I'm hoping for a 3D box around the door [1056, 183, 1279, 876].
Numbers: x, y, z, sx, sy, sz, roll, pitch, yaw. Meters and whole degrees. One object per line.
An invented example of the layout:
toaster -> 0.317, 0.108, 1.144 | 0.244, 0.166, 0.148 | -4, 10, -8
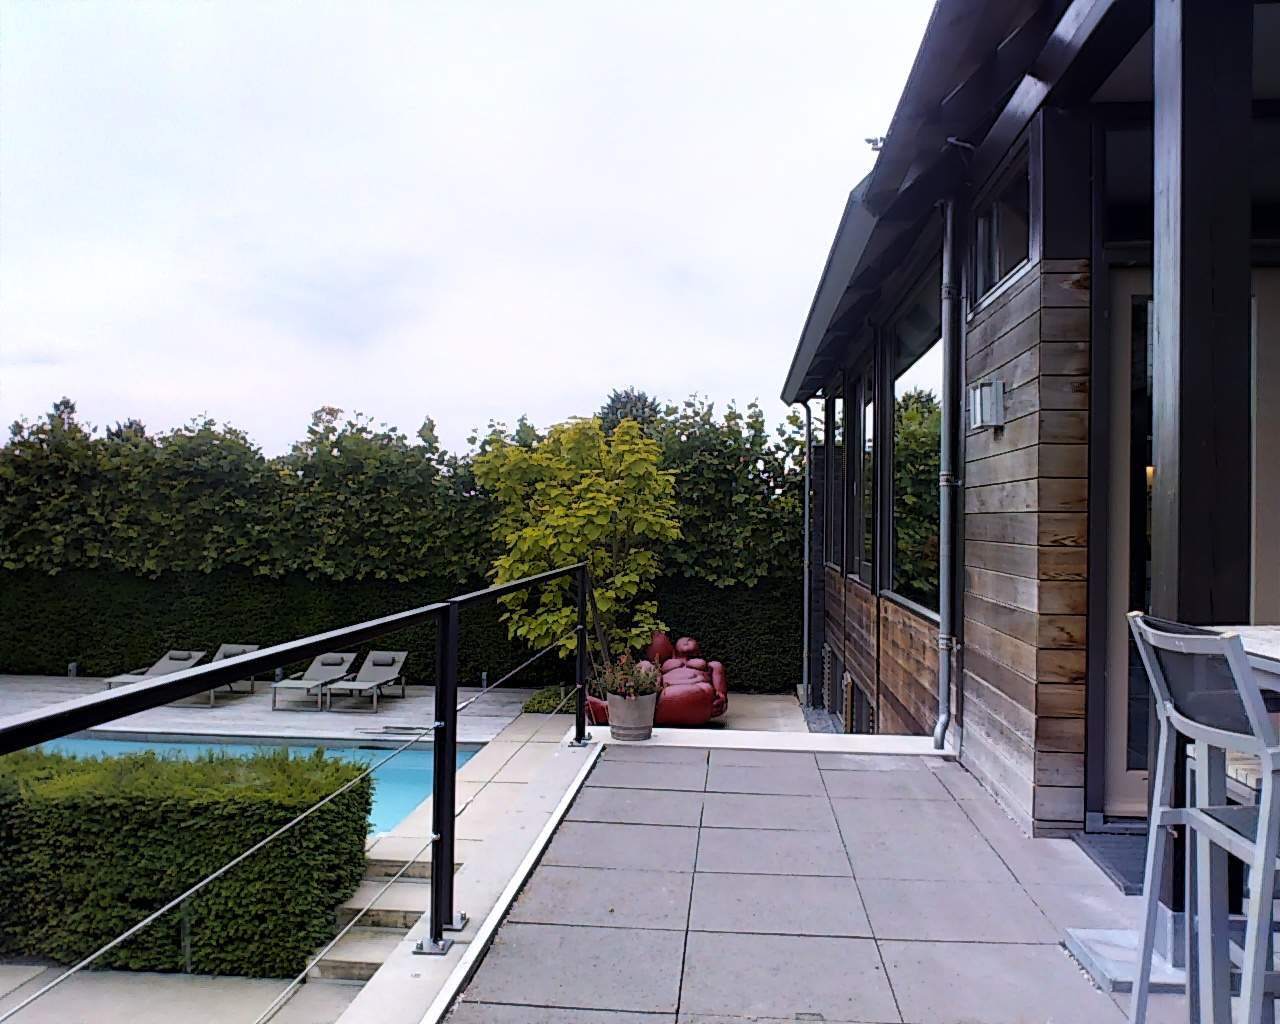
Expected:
door -> 2.899, 0.070, 4.660 | 1.840, 2.530, 0.970 | 0, -1, -17
